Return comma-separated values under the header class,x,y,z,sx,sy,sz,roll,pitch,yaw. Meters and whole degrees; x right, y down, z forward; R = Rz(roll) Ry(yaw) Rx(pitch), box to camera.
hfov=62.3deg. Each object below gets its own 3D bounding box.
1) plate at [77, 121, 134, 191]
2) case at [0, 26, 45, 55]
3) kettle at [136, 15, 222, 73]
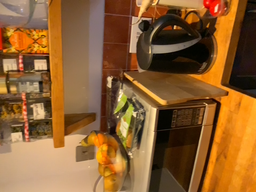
class,x,y,z,sx,sy,sz,roll,pitch,yaw
plate,-0.110,0.270,0.900,0.250,0.170,0.230,-140,51,-61
case,-0.420,-0.180,0.670,0.070,0.290,0.080,-139,50,-60
kettle,0.170,-0.180,0.740,0.120,0.240,0.170,-136,48,-59
